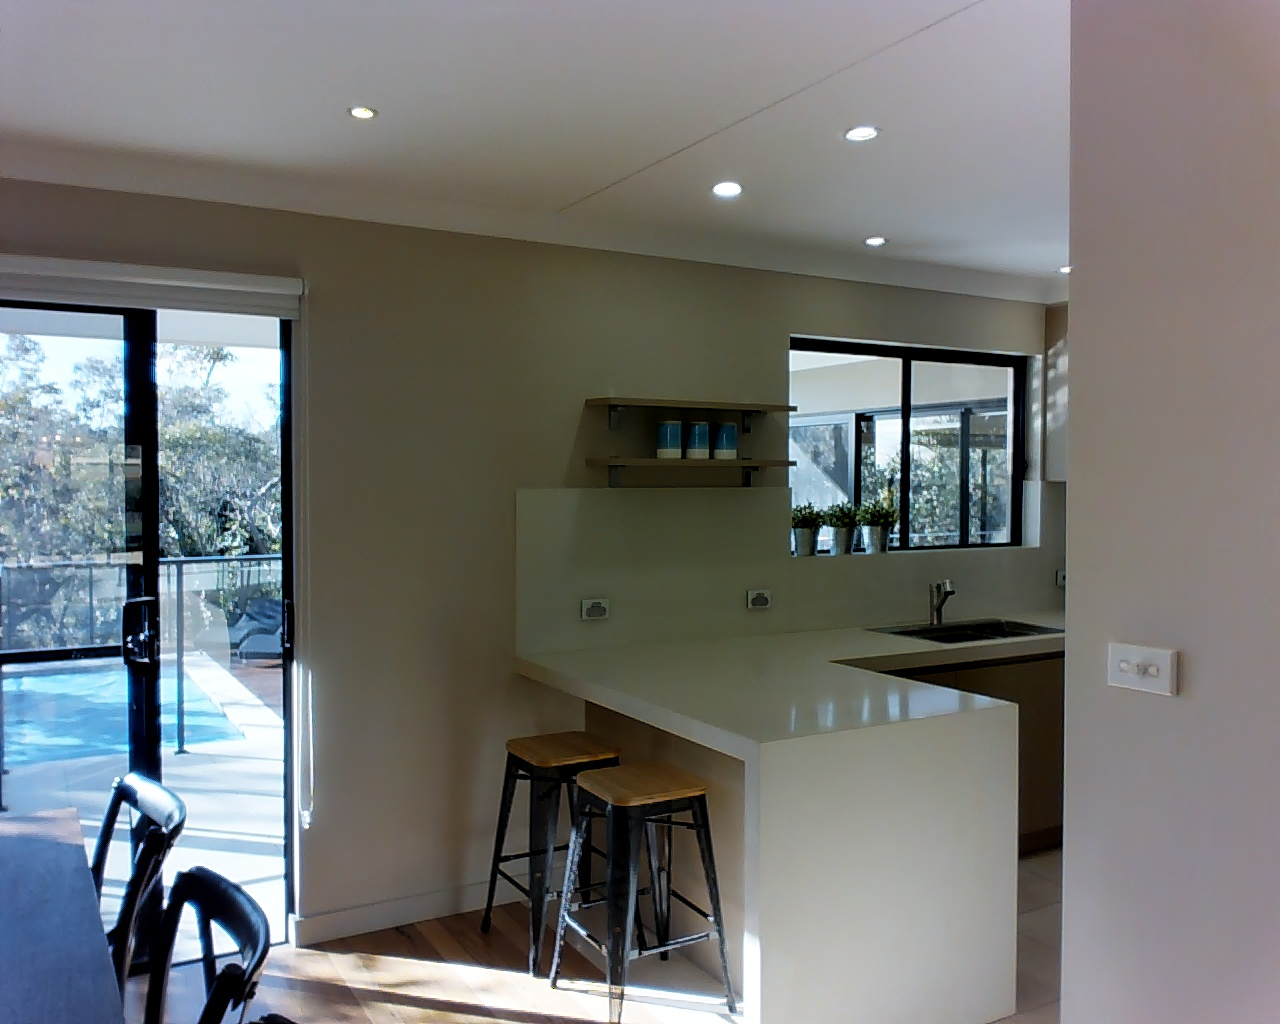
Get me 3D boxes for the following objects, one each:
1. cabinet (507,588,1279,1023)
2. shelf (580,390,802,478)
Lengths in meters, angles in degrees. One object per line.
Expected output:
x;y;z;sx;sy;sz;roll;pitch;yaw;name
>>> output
1.999;0.960;4.460;4.859;0.940;1.540;-1;1;-30;cabinet
0.210;-0.290;4.160;0.880;0.310;0.230;-1;1;-30;shelf
